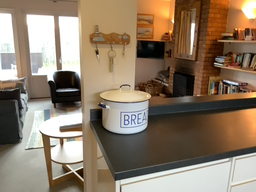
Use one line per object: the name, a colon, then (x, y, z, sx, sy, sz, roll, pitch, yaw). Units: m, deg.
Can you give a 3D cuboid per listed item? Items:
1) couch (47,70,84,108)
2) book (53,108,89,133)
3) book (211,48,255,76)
couch: (-1.450, -0.200, 4.850, 0.720, 0.680, 0.820, -4, 16, -20)
book: (-0.590, 0.240, 2.170, 0.330, 0.080, 0.410, -3, 16, -17)
book: (1.900, -0.580, 3.500, 0.260, 0.360, 1.200, -3, 16, -17)
